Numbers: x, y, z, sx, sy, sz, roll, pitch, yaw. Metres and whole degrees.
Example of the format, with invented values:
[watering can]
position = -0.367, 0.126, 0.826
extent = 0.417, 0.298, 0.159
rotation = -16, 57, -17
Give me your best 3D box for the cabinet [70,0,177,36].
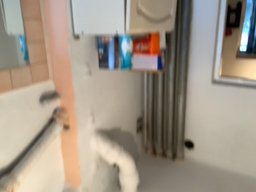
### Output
[cabinet]
position = 0.020, -0.550, 1.160
extent = 0.330, 0.400, 0.620
rotation = 9, -160, 27
